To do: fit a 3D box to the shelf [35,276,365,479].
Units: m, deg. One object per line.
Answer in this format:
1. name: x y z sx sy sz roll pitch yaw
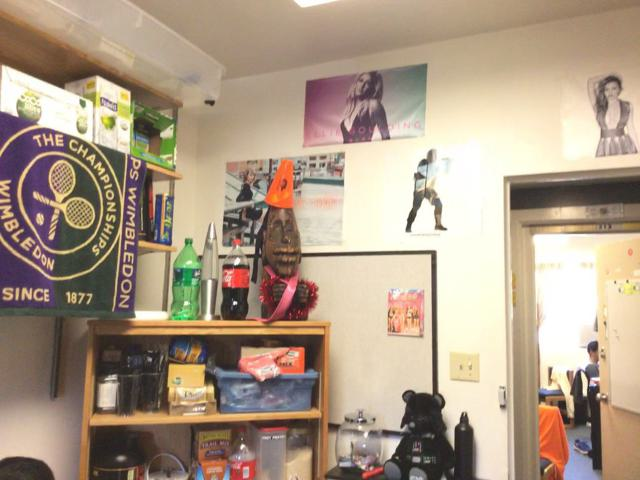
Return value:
1. shelf: -0.410 0.990 2.240 0.940 1.600 0.860 -3 -10 23
